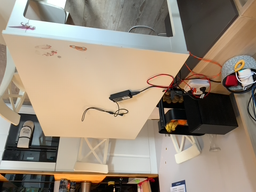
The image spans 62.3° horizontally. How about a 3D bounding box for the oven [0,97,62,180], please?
[{"bbox_3d":[-1.250,0.600,2.870,0.570,0.920,0.630,6,149,-14],"label":"oven"}]
